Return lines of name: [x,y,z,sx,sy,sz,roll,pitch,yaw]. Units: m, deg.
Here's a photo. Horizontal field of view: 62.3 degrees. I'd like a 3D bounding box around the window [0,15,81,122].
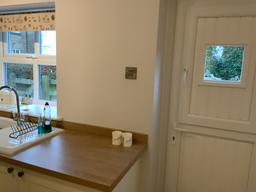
window: [-1.060,-0.320,2.420,1.200,1.080,0.080,6,11,23]
